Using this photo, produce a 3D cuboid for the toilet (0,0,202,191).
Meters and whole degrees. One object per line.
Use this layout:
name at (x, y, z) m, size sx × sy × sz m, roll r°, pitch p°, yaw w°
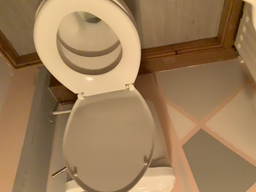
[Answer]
toilet at (-0.090, -0.090, 0.850) m, size 0.440 × 0.800 × 0.690 m, roll -9°, pitch 143°, yaw 4°
